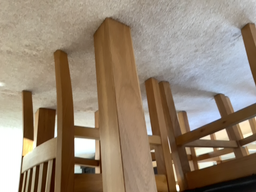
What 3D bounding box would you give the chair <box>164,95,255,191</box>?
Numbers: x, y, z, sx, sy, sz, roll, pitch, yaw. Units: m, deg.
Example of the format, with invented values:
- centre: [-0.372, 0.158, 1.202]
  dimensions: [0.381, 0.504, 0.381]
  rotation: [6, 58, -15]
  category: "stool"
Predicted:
- centre: [0.680, 0.610, 1.280]
  dimensions: [0.570, 1.050, 0.460]
  rotation: [14, 147, -38]
  category: "chair"
